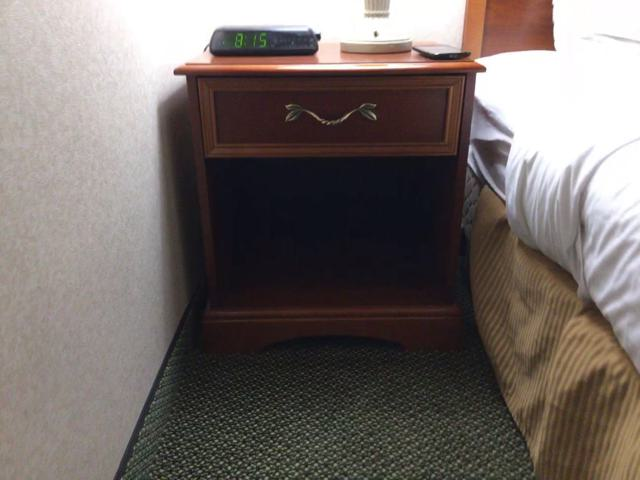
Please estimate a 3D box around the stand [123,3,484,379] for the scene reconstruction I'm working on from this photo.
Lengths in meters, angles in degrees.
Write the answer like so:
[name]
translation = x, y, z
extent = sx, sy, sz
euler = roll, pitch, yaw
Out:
[stand]
translation = 0.010, -0.130, 1.310
extent = 0.610, 0.690, 0.460
euler = -5, 22, 4
